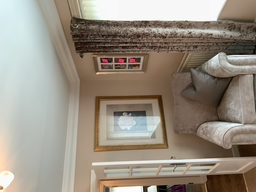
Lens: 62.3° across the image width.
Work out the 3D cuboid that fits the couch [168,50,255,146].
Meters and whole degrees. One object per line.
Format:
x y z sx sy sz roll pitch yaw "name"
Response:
1.070 0.030 2.560 0.970 0.910 0.930 138 130 -86 "couch"
